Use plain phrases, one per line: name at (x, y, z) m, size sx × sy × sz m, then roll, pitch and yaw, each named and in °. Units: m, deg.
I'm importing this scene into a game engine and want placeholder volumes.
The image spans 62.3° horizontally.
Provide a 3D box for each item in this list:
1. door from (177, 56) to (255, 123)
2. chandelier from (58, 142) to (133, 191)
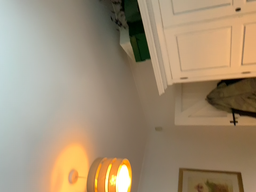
door at (1.540, -0.110, 2.420) m, size 0.050 × 1.900 × 0.870 m, roll 59°, pitch -147°, yaw -54°
chandelier at (-0.200, 0.550, 1.470) m, size 0.290 × 0.360 × 0.330 m, roll -57°, pitch -40°, yaw -60°
